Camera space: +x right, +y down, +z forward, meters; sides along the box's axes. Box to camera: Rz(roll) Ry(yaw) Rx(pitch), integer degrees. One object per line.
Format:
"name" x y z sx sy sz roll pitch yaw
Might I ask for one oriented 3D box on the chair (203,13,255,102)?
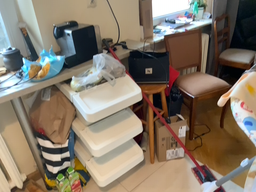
"chair" 1.260 -0.470 2.490 0.430 0.860 0.490 -27 36 -33

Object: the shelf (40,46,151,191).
"shelf" -0.200 0.170 1.570 0.480 0.880 0.550 -24 35 -31

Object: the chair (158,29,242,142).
"chair" 0.630 -0.120 2.040 0.450 0.870 0.520 -19 32 -23
